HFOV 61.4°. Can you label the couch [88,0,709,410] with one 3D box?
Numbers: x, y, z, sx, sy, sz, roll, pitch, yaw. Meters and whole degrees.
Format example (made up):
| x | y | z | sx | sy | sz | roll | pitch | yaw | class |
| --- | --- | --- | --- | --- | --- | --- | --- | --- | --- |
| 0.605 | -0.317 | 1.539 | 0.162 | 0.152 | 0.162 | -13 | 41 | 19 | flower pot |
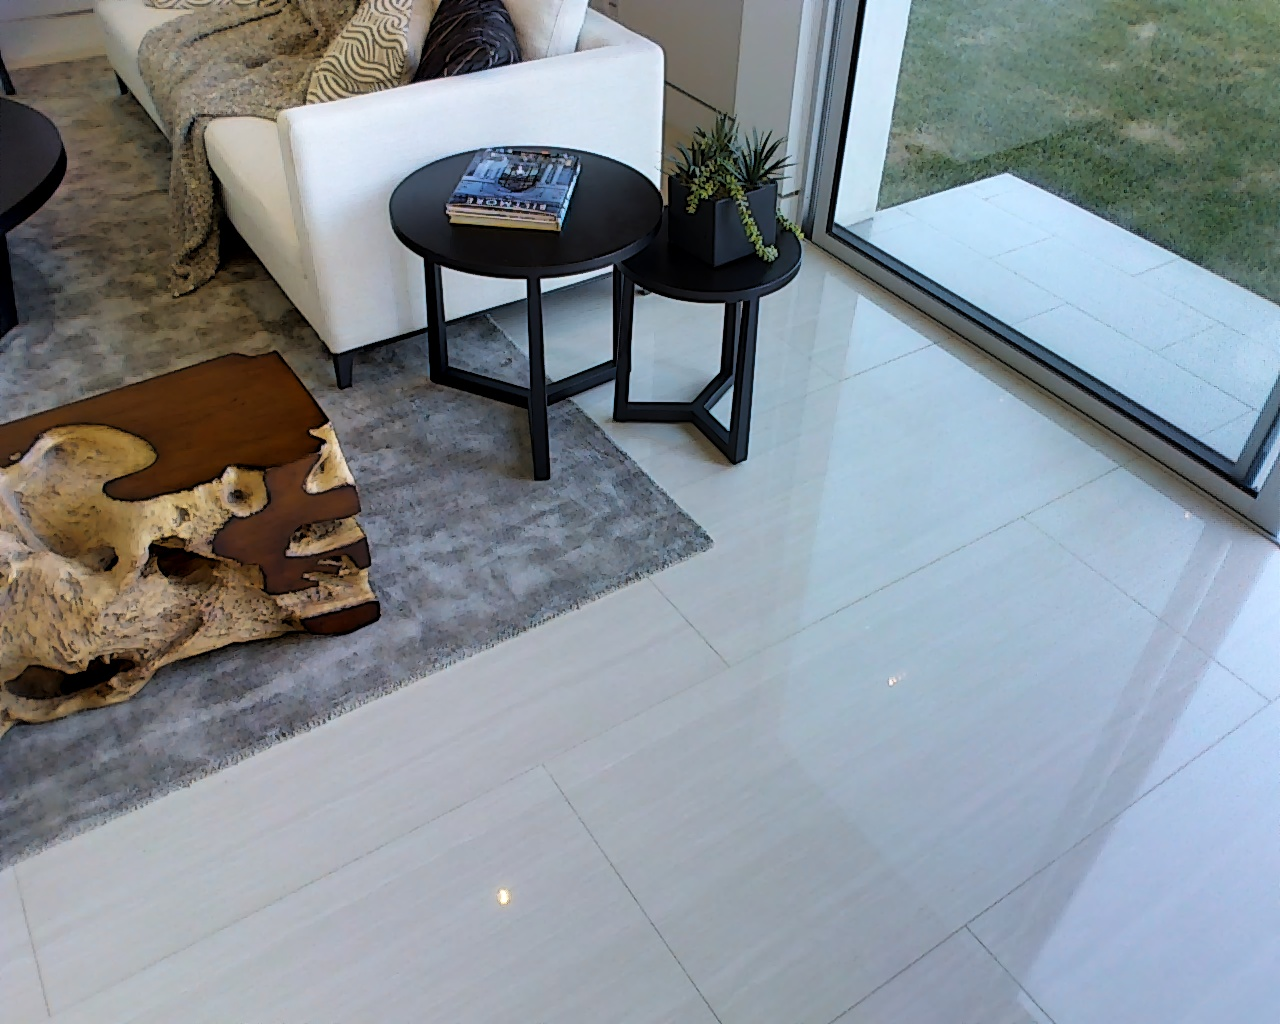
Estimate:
| x | y | z | sx | sy | sz | roll | pitch | yaw | class |
| --- | --- | --- | --- | --- | --- | --- | --- | --- | --- |
| -0.910 | -1.420 | 3.300 | 1.060 | 0.870 | 2.320 | -22 | 47 | -24 | couch |
